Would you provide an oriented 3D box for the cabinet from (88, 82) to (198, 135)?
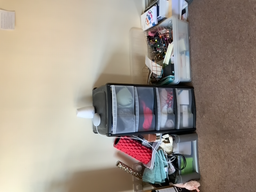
[{"bbox_3d":[0.120,0.110,1.790,0.420,0.810,0.360,-14,77,63],"label":"cabinet"}]
